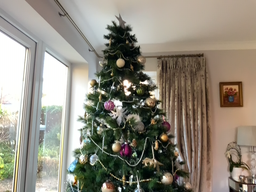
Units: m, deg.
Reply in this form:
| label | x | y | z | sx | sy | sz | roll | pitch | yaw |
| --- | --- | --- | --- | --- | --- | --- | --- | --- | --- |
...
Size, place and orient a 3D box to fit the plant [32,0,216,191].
| label | x | y | z | sx | sy | sz | roll | pitch | yaw |
| --- | --- | --- | --- | --- | --- | --- | --- | --- | --- |
| plant | -0.070 | 0.320 | 1.990 | 1.250 | 2.270 | 1.060 | 2 | -8 | -10 |

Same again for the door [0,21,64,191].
| label | x | y | z | sx | sy | sz | roll | pitch | yaw |
| --- | --- | --- | --- | --- | --- | --- | --- | --- | --- |
| door | -1.060 | 0.380 | 1.260 | 0.120 | 1.980 | 3.010 | 0 | -8 | 5 |

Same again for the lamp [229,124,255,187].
| label | x | y | z | sx | sy | sz | roll | pitch | yaw |
| --- | --- | --- | --- | --- | --- | --- | --- | --- | --- |
| lamp | 1.510 | 0.700 | 2.600 | 0.380 | 0.700 | 0.320 | 0 | -8 | 6 |
